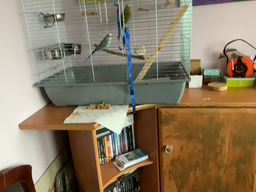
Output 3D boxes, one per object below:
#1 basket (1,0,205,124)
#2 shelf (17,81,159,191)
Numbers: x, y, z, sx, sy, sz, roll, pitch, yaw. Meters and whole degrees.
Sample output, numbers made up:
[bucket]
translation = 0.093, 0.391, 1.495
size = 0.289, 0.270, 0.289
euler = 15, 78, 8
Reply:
[basket]
translation = -0.060, -0.250, 0.990
size = 0.710, 0.610, 0.460
euler = -1, 20, 10
[shelf]
translation = -0.110, 0.530, 1.310
size = 0.560, 1.110, 0.580
euler = -1, 20, 11
